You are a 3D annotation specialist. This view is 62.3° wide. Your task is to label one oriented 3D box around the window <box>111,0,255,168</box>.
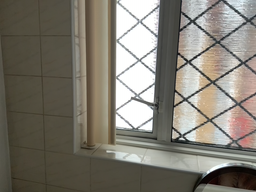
[{"bbox_3d":[0.480,-0.180,0.790,0.050,1.120,0.940,-39,-49,-72],"label":"window"}]
